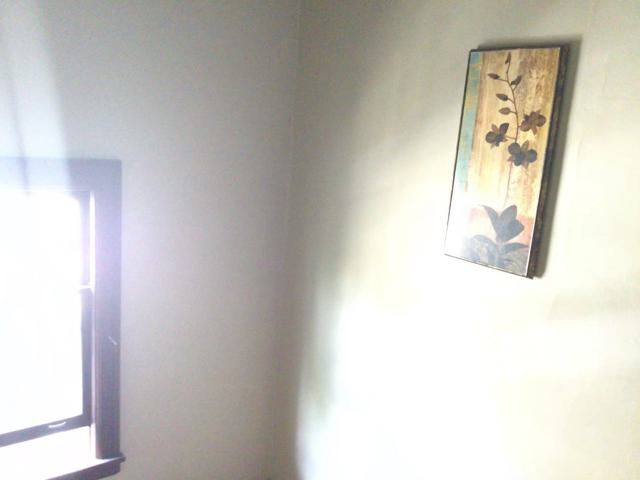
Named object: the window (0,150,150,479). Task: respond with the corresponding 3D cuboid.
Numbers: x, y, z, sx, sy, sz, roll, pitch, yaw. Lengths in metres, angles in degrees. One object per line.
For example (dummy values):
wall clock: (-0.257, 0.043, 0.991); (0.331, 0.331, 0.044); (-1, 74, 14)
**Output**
window: (-1.340, 0.360, 2.470); (1.070, 1.470, 0.300); (-6, 10, -34)
